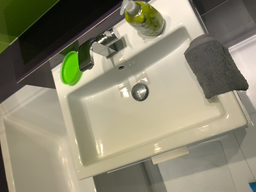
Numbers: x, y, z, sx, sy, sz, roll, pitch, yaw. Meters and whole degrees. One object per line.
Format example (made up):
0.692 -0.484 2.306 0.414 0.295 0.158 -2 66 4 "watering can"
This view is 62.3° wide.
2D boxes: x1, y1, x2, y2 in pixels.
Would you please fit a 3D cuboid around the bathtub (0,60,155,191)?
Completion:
-0.260 0.720 1.380 0.690 0.590 1.670 -27 73 25 "bathtub"

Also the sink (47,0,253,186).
0.030 -0.010 0.790 0.600 0.200 0.480 -27 73 25 "sink"
